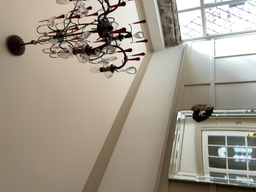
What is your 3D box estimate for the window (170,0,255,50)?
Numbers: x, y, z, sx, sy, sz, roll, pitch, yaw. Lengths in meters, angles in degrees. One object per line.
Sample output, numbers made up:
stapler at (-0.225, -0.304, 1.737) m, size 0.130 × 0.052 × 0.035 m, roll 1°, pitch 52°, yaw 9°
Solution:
window at (1.420, -1.490, 2.860) m, size 0.200 × 1.670 × 1.600 m, roll -63°, pitch -36°, yaw -49°
